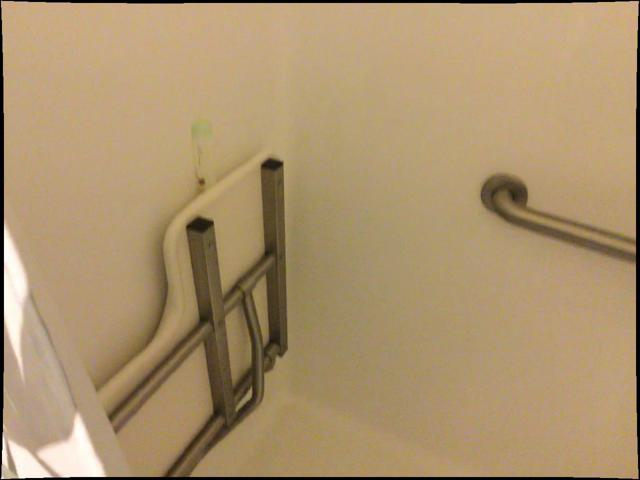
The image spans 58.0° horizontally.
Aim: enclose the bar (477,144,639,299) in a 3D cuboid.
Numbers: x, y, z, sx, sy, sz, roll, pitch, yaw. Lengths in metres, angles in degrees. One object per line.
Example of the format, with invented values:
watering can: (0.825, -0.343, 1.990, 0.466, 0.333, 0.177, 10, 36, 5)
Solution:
bar: (0.479, -0.020, 0.930, 0.399, 0.160, 0.130, 13, 40, 19)
